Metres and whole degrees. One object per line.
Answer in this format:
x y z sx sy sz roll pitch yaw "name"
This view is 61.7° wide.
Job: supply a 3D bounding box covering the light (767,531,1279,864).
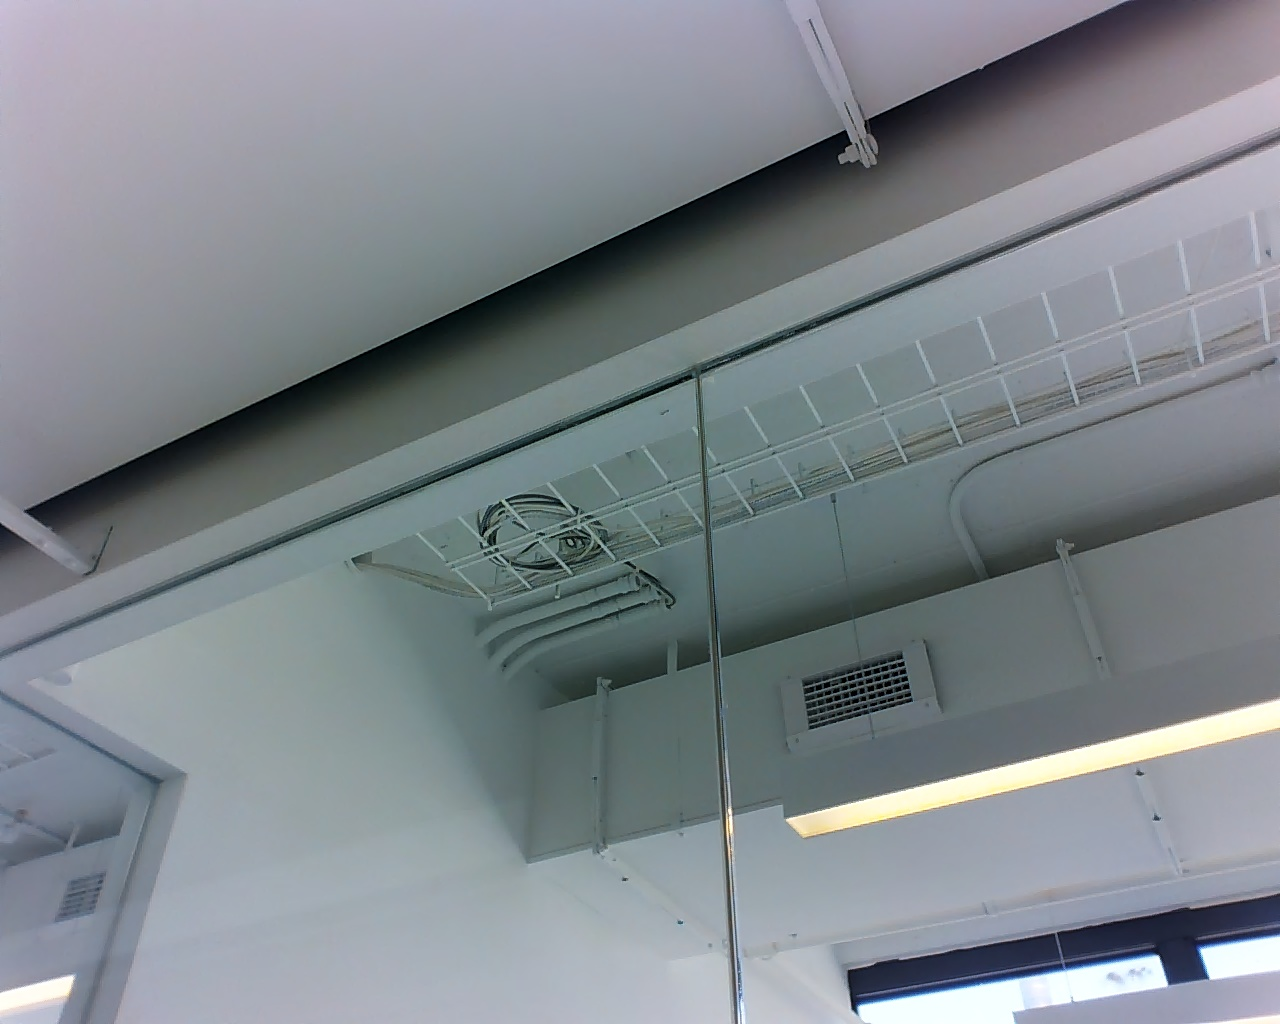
0.809 0.270 1.720 1.219 0.300 0.160 -20 -46 21 "light"
